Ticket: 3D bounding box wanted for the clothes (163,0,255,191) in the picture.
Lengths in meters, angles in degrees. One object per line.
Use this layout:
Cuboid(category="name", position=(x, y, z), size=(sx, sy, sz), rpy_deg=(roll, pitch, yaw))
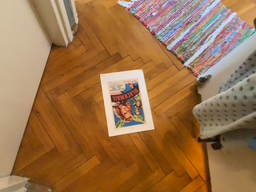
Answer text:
Cuboid(category="clothes", position=(0.340, 0.000, 0.300), size=(0.220, 1.340, 0.380), rpy_deg=(5, 75, -5))
